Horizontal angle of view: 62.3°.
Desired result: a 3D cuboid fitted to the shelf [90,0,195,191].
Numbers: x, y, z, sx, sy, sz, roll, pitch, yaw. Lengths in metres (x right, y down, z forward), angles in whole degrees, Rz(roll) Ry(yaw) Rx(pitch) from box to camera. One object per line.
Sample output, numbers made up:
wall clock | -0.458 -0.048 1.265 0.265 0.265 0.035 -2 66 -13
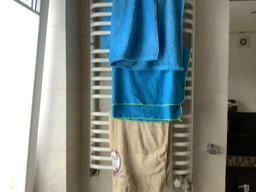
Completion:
shelf | 0.070 -0.020 1.140 0.490 1.180 0.240 1 2 5
